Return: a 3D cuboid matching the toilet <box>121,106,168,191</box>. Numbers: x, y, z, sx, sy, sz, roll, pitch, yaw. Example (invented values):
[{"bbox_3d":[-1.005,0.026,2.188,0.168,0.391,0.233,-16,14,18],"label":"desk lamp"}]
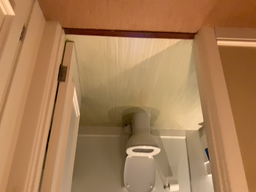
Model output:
[{"bbox_3d":[0.140,0.620,2.360,0.390,0.820,0.660,2,155,-3],"label":"toilet"}]
